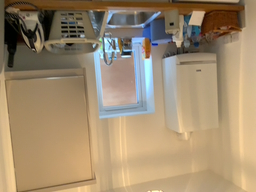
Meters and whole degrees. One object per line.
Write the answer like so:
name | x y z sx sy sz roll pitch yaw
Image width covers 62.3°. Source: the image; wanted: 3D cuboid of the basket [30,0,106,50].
basket | -0.480 -0.570 1.750 0.510 0.290 0.490 -5 -176 -15
